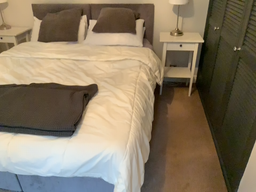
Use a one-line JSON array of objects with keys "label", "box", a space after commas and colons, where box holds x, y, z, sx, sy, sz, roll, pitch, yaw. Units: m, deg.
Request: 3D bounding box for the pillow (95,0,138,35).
[{"label": "pillow", "box": [-0.140, -0.870, 2.370, 0.400, 0.330, 0.160, 11, 83, -13]}]

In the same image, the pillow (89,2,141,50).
[{"label": "pillow", "box": [-0.160, -0.770, 2.390, 0.520, 0.380, 0.220, 10, 63, -6]}]
